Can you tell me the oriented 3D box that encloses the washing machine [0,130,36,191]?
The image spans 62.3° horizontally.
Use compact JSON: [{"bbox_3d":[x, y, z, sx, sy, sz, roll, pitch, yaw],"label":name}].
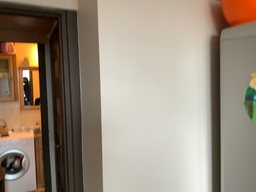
[{"bbox_3d":[-1.730,0.980,3.190,0.590,0.760,0.540,-3,4,-26],"label":"washing machine"}]
